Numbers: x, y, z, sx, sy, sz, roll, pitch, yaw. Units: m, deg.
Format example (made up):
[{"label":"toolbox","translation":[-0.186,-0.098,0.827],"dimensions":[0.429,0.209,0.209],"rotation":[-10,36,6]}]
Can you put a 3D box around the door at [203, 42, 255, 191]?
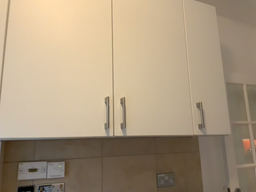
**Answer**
[{"label":"door","translation":[1.110,0.650,1.730],"dimensions":[0.880,2.150,0.140],"rotation":[3,-12,-21]}]
